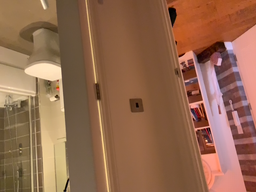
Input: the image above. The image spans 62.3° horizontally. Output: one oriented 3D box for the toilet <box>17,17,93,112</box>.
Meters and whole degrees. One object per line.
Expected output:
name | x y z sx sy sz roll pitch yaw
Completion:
toilet | -0.820 -0.300 2.440 0.400 0.860 0.680 -15 165 26
